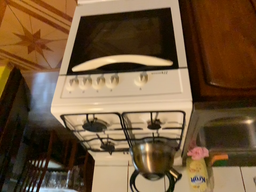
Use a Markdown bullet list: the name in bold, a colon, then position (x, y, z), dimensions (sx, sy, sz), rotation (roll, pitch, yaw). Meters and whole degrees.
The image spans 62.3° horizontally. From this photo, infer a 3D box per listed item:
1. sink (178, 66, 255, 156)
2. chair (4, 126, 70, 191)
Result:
- **sink**: position (0.450, 0.110, 1.000), dimensions (0.360, 0.200, 0.540), rotation (-2, 149, 7)
- **chair**: position (-1.300, 1.000, 3.140), dimensions (0.520, 0.950, 0.510), rotation (-4, 148, 11)
